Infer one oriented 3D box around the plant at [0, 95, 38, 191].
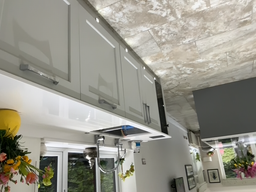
[{"bbox_3d":[-0.750,0.290,1.180,0.310,0.500,0.300,-13,159,22],"label":"plant"}]
